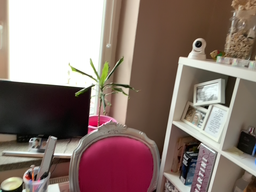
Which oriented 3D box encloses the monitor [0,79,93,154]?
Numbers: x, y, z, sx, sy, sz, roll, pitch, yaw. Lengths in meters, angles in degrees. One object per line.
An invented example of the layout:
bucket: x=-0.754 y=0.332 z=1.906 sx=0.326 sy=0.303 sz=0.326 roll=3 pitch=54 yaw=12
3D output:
monitor: x=-0.480 y=0.130 z=1.210 sx=0.540 sy=0.420 sz=0.030 roll=4 pitch=16 yaw=-6
